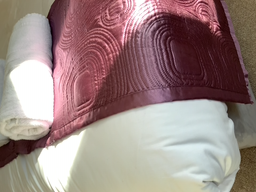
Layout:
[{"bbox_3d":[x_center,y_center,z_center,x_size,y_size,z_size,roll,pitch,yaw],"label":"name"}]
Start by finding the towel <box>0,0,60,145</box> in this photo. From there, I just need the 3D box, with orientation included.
[{"bbox_3d":[-0.320,-0.080,0.640,0.190,0.120,0.410,-30,62,40],"label":"towel"}]
